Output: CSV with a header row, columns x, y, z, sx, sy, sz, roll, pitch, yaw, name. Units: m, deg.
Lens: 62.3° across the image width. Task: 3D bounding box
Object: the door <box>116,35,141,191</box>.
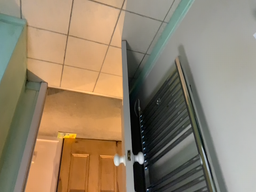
x,y,z,sx,sy,sz,roll,pitch,yaw,name
0.010,0.610,1.390,0.080,1.780,1.080,-3,143,-2,door
